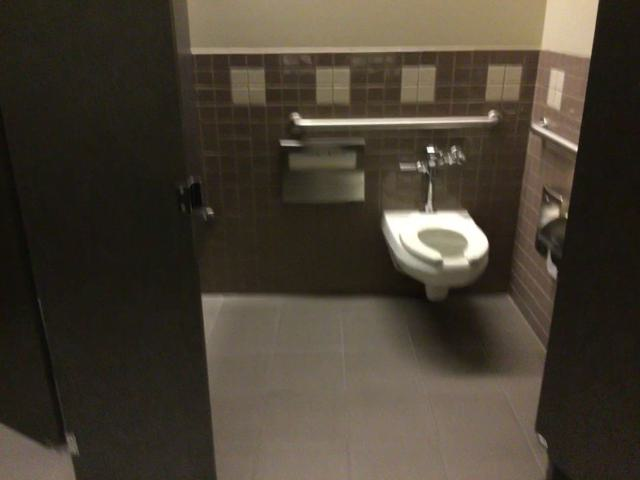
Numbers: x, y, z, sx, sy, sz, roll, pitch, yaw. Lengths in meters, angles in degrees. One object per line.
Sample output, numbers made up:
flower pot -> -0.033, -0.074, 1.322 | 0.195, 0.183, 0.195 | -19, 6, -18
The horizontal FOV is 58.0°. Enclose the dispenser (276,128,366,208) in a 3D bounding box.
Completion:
dispenser -> 0.000, -0.330, 2.650 | 0.400, 0.350, 0.060 | 1, 21, 0

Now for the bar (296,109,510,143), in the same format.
bar -> 0.360, -0.510, 2.580 | 0.930, 0.110, 0.090 | 1, 21, 0
